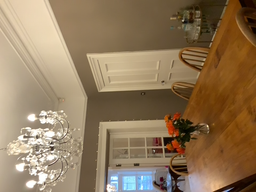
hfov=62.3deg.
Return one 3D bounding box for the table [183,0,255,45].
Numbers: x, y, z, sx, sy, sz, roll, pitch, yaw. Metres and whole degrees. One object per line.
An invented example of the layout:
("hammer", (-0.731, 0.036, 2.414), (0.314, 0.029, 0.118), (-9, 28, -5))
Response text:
("table", (1.070, -0.920, 2.600), (0.390, 0.670, 0.390), (85, -177, -59))
